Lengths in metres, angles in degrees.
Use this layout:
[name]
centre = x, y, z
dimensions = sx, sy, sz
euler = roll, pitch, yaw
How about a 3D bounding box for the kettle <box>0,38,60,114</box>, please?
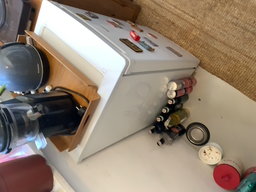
[kettle]
centre = -0.440, -0.080, 0.820
dimensions = 0.180, 0.220, 0.210
euler = 40, 116, 22
